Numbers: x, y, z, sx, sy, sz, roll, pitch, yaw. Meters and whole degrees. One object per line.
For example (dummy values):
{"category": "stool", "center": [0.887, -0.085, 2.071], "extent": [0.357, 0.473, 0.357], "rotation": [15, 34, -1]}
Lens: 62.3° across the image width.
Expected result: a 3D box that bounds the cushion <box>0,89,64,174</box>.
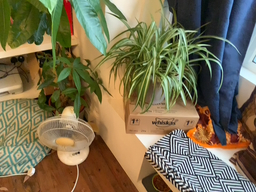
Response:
{"category": "cushion", "center": [-0.810, 0.240, 1.480], "extent": [0.590, 0.240, 0.480], "rotation": [-11, 45, -23]}
